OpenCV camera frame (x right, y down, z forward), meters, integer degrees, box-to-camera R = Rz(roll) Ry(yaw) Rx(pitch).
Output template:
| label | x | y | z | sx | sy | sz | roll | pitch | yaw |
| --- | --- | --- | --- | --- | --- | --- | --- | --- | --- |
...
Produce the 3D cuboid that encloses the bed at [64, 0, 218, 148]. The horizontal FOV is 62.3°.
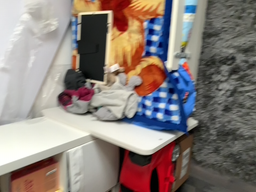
| label | x | y | z | sx | sy | sz | roll | pitch | yaw |
| --- | --- | --- | --- | --- | --- | --- | --- | --- | --- |
| bed | 0.040 | -0.560 | 1.220 | 0.820 | 0.380 | 1.450 | 10 | 102 | 37 |
